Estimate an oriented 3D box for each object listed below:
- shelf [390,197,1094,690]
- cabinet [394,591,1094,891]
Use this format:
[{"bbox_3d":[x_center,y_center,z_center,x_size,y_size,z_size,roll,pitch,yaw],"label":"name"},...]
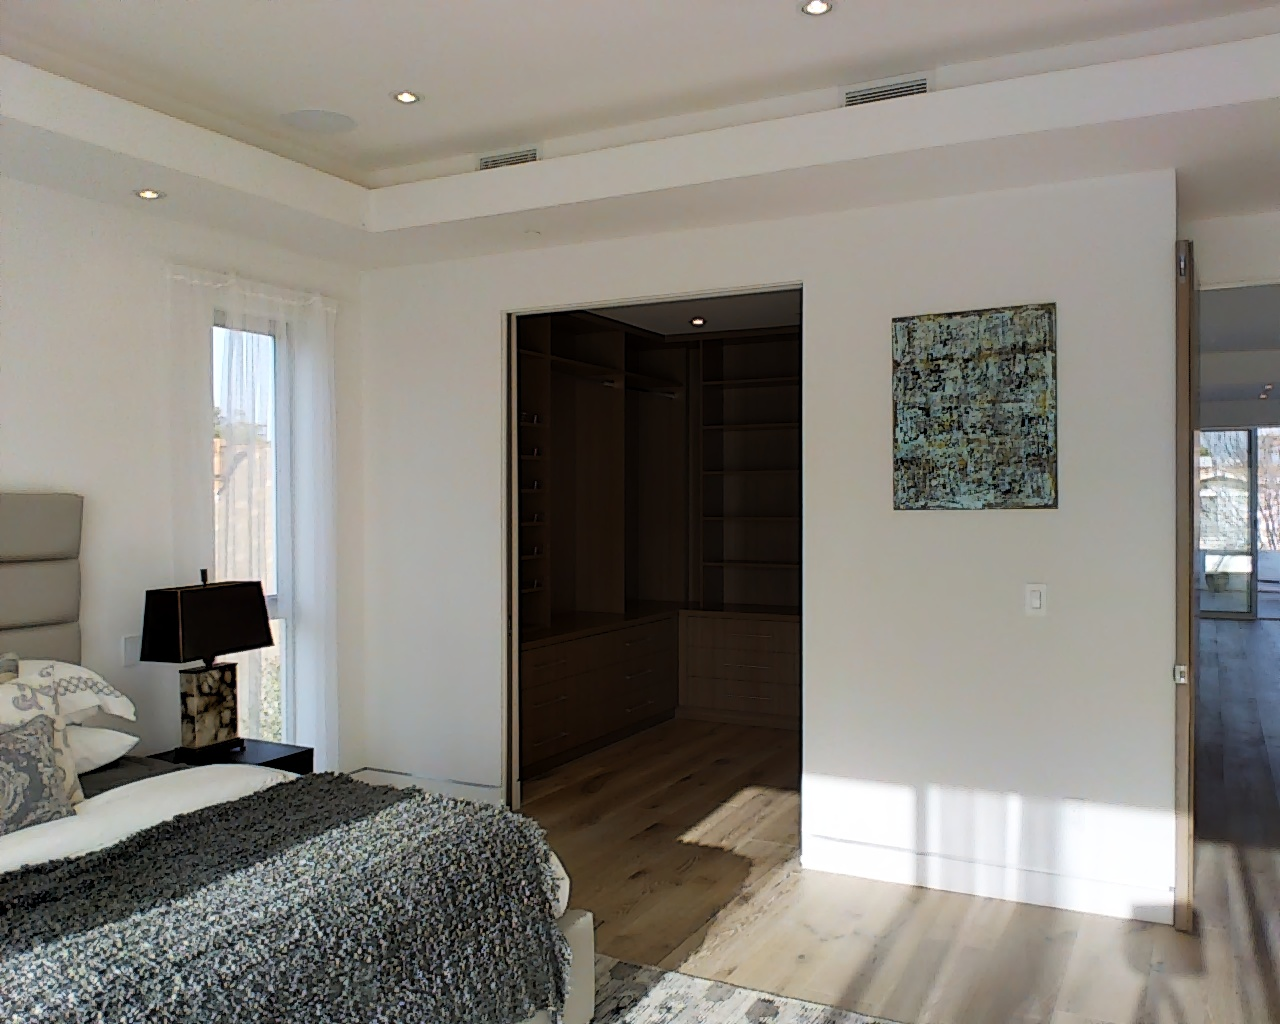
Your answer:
[{"bbox_3d":[0.770,-0.300,6.310,3.209,1.951,2.910,0,1,29],"label":"shelf"},{"bbox_3d":[0.780,1.060,6.330,3.199,0.830,2.920,0,1,29],"label":"cabinet"}]
